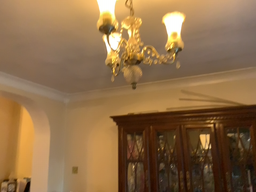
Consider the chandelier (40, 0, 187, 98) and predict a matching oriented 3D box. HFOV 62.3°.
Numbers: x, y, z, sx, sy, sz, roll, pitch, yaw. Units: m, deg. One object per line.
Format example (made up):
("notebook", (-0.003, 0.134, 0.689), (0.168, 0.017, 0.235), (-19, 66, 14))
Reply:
("chandelier", (-0.010, -0.290, 0.960), (0.500, 0.480, 0.470), (-5, 166, 15))
